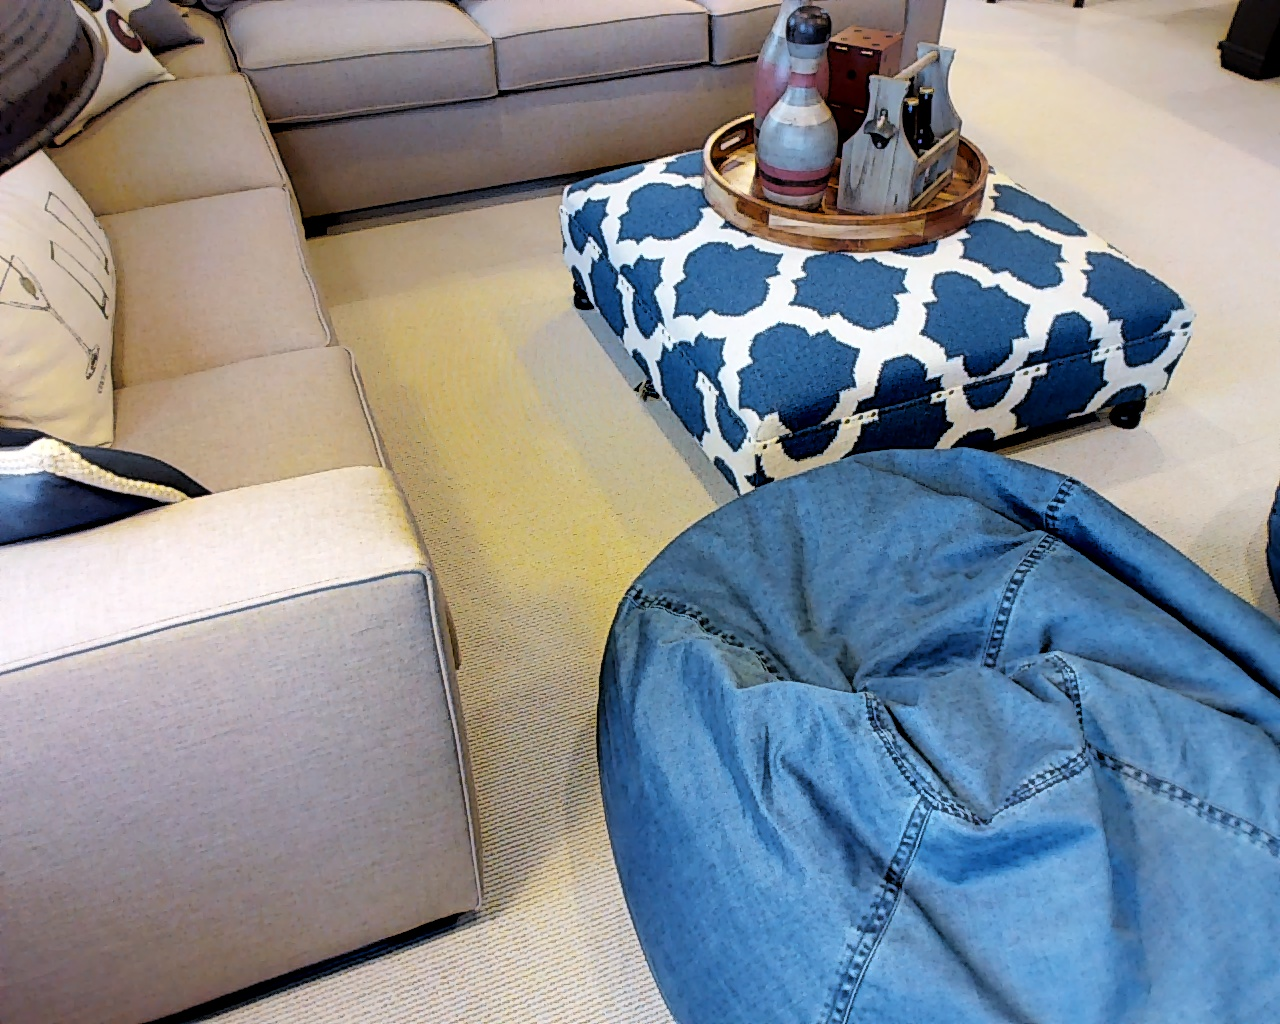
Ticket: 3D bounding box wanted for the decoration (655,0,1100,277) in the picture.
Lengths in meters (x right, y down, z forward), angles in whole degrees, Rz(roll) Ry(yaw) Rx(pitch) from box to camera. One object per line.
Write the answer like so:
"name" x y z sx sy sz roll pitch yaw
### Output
"decoration" 0.430 -0.900 2.150 0.600 0.520 0.600 -15 44 -17
